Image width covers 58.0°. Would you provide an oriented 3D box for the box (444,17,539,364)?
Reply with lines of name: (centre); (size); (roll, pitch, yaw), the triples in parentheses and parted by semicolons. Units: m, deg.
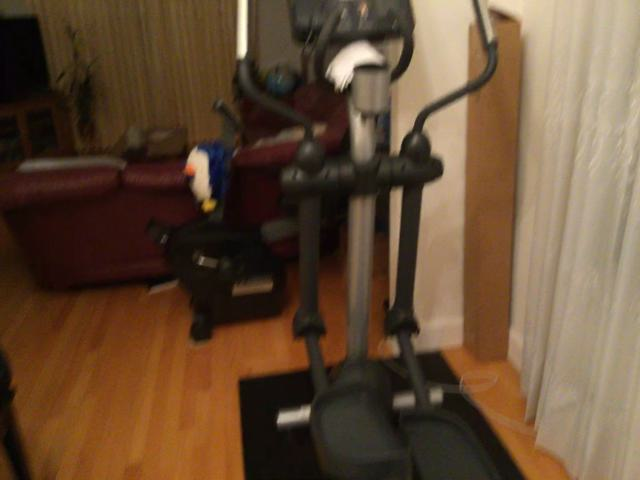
box: (0.650, -0.150, 2.270); (0.210, 1.350, 0.160); (-4, 20, -7)
